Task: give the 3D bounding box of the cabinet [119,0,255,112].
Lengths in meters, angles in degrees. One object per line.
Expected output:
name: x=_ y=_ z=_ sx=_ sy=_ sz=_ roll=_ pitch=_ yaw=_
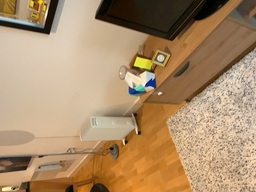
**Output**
cabinet: x=0.640 y=-0.570 z=1.290 sx=1.900 sy=0.530 sz=0.430 roll=-50 pitch=47 yaw=44
